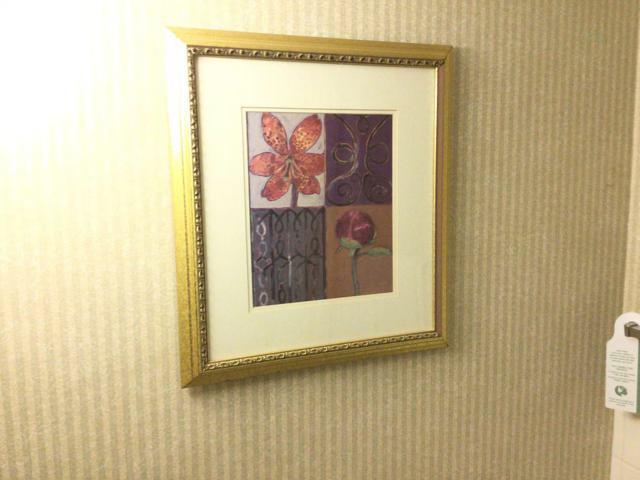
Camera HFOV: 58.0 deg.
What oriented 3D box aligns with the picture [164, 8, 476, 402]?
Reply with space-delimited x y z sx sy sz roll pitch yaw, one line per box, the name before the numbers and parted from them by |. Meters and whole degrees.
picture | 0.020 -0.050 0.900 0.490 0.540 0.040 -2 6 -22
